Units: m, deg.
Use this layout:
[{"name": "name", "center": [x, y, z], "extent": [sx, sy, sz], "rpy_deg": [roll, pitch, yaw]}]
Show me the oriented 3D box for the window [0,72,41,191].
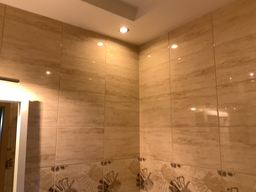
[{"name": "window", "center": [-0.780, 0.330, 1.130], "extent": [0.510, 0.930, 0.130], "rpy_deg": [6, -11, -35]}]
